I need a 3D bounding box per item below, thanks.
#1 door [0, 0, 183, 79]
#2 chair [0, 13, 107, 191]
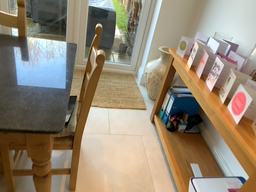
[{"bbox_3d":[-0.390,-1.190,2.390,2.040,1.910,0.100,8,33,-9],"label":"door"},{"bbox_3d":[-0.440,0.100,1.280,0.460,0.980,0.460,5,33,-13],"label":"chair"}]
